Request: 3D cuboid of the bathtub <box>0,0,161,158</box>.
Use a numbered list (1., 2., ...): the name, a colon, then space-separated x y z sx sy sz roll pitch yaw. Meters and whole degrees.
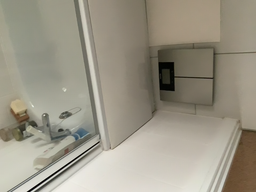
1. bathtub: -0.320 -0.620 1.100 0.700 0.550 1.650 5 110 33
